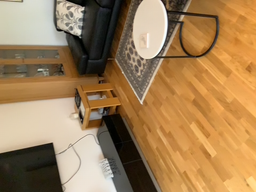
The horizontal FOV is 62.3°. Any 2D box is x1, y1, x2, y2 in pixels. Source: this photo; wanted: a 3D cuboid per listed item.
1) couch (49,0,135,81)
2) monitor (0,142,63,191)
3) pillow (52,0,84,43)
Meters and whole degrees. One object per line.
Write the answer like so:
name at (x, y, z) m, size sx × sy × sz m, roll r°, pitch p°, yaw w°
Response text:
couch at (-0.420, -1.640, 2.620) m, size 1.070 × 0.790 × 2.940 m, roll 62°, pitch 145°, yaw 35°
monitor at (-1.130, 1.120, 2.440) m, size 1.230 × 0.700 × 0.070 m, roll 60°, pitch 144°, yaw 37°
pillow at (-0.870, -1.100, 3.080) m, size 0.190 × 0.430 × 0.490 m, roll 30°, pitch 135°, yaw 11°
